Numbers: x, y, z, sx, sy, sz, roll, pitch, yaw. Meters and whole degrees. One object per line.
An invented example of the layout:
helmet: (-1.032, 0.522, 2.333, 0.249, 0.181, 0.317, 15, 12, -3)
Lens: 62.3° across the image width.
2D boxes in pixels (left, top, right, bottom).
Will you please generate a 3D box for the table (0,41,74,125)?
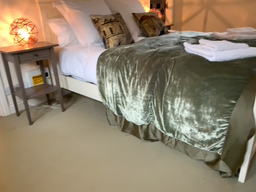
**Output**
table: (-0.900, -0.160, 2.140, 0.450, 0.670, 0.420, -23, 31, -40)
